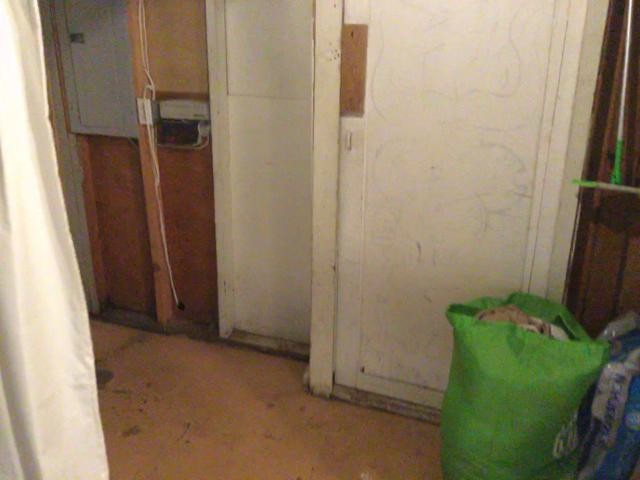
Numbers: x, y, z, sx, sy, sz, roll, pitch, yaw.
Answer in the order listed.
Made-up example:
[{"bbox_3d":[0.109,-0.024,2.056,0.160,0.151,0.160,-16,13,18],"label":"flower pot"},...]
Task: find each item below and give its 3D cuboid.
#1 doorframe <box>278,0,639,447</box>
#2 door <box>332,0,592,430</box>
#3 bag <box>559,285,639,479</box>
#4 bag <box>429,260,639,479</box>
[{"bbox_3d":[0.410,-0.270,2.020,1.070,2.090,0.190,5,22,14],"label":"doorframe"},{"bbox_3d":[0.440,-0.250,2.030,0.770,1.970,0.170,5,22,14],"label":"door"},{"bbox_3d":[1.140,0.530,1.920,0.530,0.620,0.340,5,22,14],"label":"bag"},{"bbox_3d":[0.630,0.530,1.830,0.500,0.710,0.610,5,22,14],"label":"bag"}]
